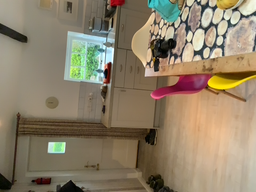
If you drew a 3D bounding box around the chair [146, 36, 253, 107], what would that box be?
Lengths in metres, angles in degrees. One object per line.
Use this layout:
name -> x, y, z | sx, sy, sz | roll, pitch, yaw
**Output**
chair -> 0.640, -0.200, 1.970 | 0.450, 0.780, 0.510 | -164, 79, -71
